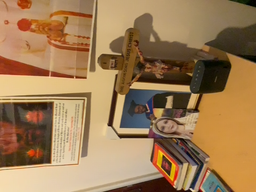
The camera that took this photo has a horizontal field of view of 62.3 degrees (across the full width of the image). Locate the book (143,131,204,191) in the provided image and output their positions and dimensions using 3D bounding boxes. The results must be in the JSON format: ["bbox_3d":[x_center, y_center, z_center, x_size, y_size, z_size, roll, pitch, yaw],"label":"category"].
[{"bbox_3d":[0.200,0.320,0.990,0.190,0.140,0.220,49,134,50],"label":"book"}]
